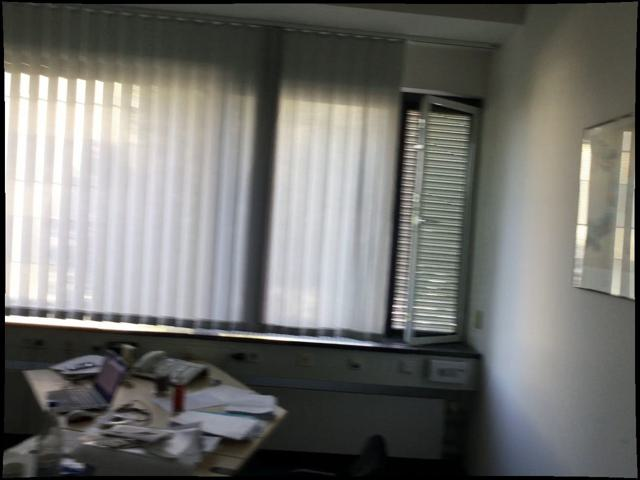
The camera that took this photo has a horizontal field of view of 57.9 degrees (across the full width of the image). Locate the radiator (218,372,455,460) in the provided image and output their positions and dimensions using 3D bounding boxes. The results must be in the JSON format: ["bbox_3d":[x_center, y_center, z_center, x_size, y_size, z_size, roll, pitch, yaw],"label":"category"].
[{"bbox_3d":[0.100,1.101,3.640,1.429,0.440,0.230,2,3,-2],"label":"radiator"}]

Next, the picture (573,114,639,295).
[{"bbox_3d":[1.119,-0.130,2.090,0.050,0.621,0.690,2,3,-2],"label":"picture"}]
